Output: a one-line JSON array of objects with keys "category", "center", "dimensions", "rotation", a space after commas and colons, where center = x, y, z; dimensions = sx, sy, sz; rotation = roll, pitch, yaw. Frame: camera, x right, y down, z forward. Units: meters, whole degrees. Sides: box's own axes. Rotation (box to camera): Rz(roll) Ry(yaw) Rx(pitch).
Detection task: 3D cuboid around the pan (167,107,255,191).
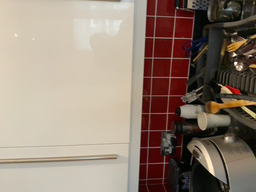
[{"category": "pan", "center": [0.340, 0.250, 0.780], "dimensions": [0.300, 0.280, 0.340], "rotation": [-122, 32, -74]}]
